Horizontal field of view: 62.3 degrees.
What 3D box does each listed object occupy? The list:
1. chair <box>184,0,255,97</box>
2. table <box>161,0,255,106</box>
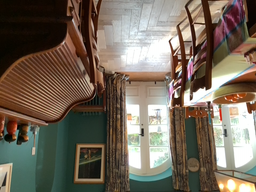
[{"bbox_3d":[0.790,-0.480,1.830,0.430,0.900,0.450,0,168,-1],"label":"chair"},{"bbox_3d":[1.010,-0.460,2.200,0.860,0.780,2.240,0,168,-3],"label":"table"}]
